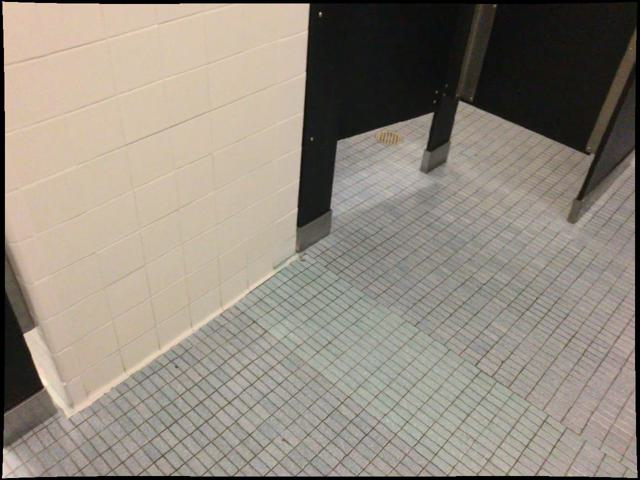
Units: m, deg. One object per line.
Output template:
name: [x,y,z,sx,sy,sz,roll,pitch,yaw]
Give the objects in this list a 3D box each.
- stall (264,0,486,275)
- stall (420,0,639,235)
stall: [0.209,-0.501,1.900,0.100,0.981,0.979,32,47,29]
stall: [0.808,-0.682,2.000,0.669,1.162,0.280,33,47,29]
